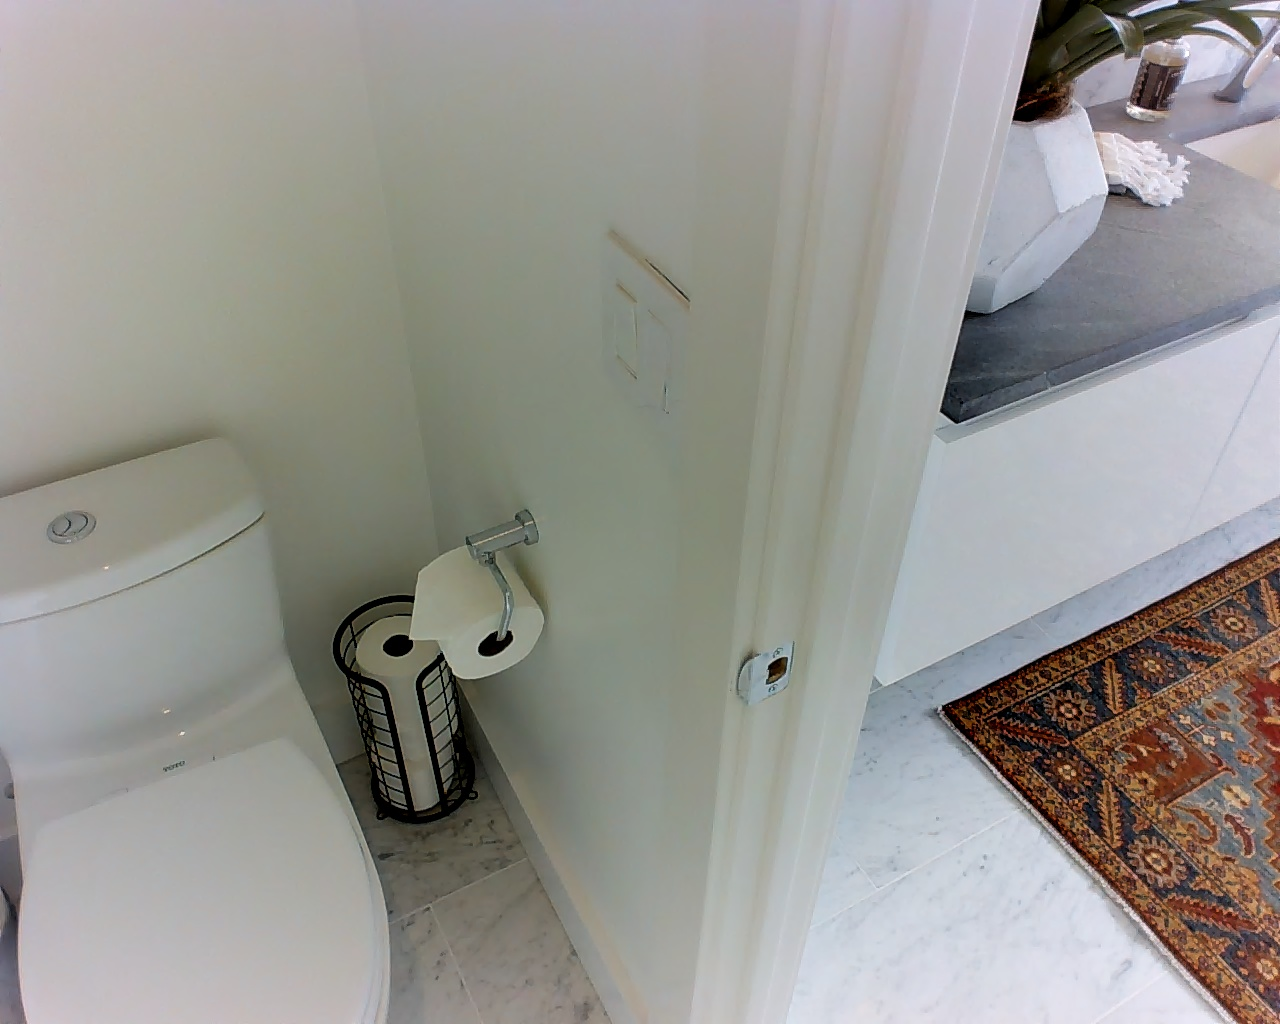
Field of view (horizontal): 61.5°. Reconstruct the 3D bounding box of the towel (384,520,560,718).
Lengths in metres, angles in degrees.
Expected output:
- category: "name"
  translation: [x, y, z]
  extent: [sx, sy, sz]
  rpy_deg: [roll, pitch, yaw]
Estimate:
- category: "towel"
  translation: [-0.190, 0.120, 1.230]
  extent: [0.150, 0.130, 0.130]
  rpy_deg: [-20, 46, -22]
